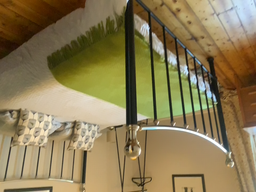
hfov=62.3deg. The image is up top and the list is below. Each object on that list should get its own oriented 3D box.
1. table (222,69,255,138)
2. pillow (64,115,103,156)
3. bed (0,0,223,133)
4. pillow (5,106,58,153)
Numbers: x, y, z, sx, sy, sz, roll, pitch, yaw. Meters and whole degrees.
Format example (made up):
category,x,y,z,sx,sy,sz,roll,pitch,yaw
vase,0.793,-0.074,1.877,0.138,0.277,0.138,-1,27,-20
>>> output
category,x,y,z,sx,sy,sz,roll,pitch,yaw
table,1.920,0.060,2.670,1.120,0.750,0.620,-15,156,35
pillow,-0.590,0.520,2.870,0.170,0.390,0.450,-14,-175,28
bed,-0.350,-0.120,2.370,2.150,0.620,1.710,-15,156,35
pillow,-1.060,0.360,2.350,0.230,0.410,0.410,-13,178,31
